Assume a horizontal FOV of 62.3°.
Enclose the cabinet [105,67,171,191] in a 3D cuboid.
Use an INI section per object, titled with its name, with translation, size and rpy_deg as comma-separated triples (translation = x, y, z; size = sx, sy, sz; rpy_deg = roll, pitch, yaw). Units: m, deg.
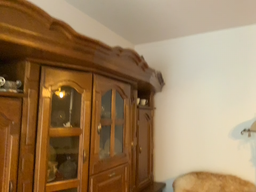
[cabinet]
translation = 0.140, 0.380, 2.520
size = 0.580, 1.300, 0.550
rpy_deg = -2, -6, 29
